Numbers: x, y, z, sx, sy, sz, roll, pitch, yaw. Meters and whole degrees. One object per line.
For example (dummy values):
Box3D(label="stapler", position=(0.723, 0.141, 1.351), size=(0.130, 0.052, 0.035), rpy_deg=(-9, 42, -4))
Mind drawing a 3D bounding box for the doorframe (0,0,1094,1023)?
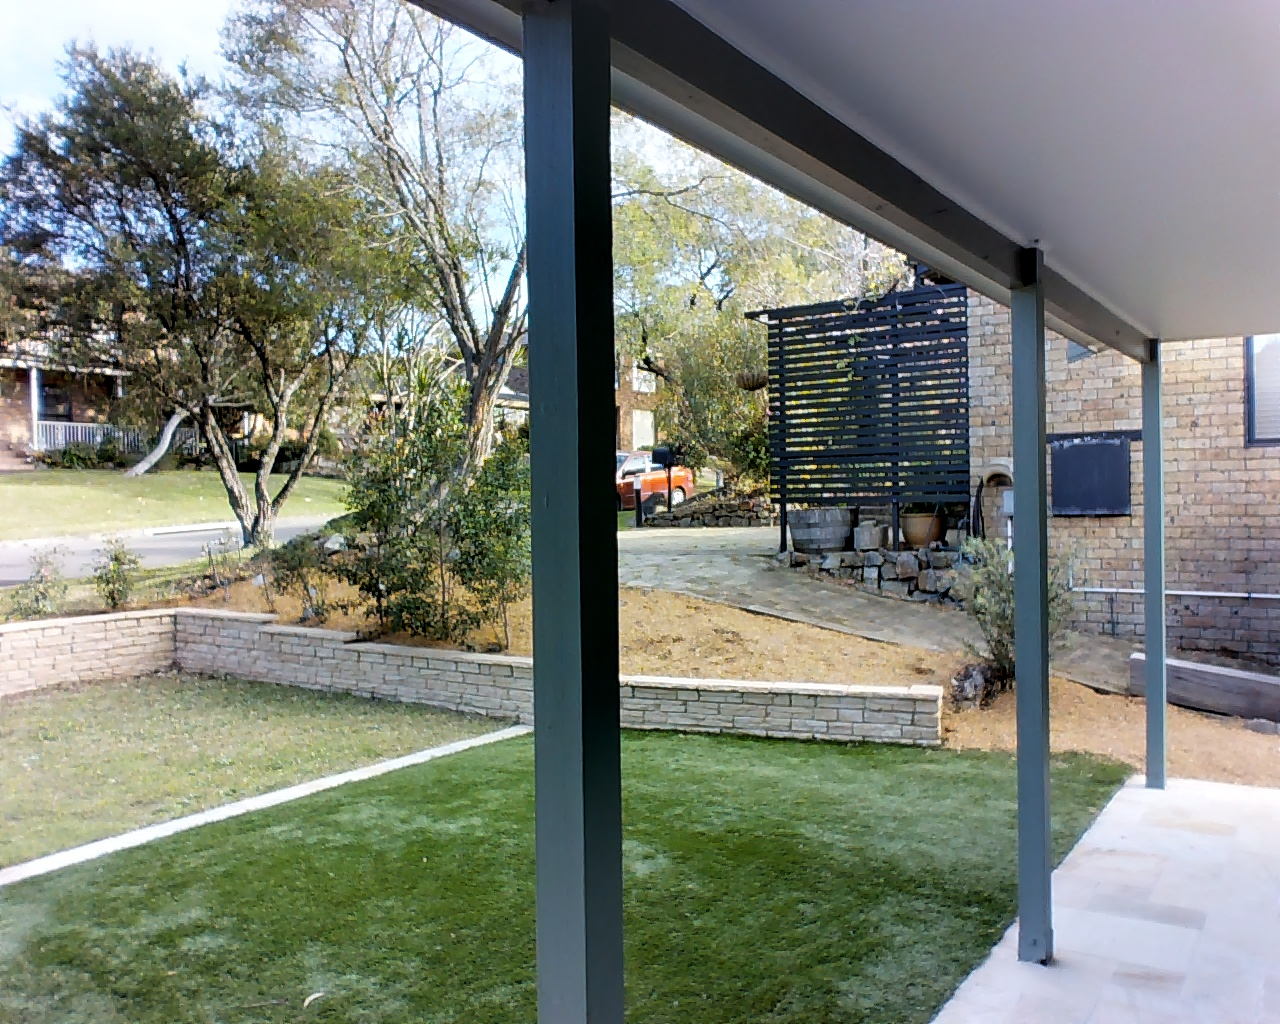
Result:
Box3D(label="doorframe", position=(-0.110, 0.350, 1.660), size=(0.440, 2.451, 5.470), rpy_deg=(-1, 0, 34))
